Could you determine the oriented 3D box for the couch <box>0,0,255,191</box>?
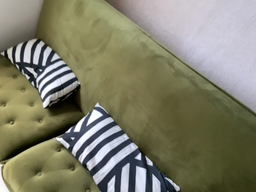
[{"bbox_3d":[-0.200,0.050,1.130,1.690,0.790,0.900,45,122,27],"label":"couch"}]
